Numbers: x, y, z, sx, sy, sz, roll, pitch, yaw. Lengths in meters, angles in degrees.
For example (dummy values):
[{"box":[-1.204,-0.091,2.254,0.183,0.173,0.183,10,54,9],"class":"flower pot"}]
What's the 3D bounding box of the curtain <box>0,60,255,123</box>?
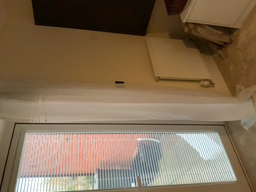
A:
[{"box":[0.020,-0.010,1.750,0.200,2.210,0.420,108,159,-50],"class":"curtain"}]
